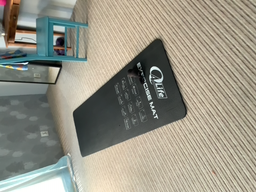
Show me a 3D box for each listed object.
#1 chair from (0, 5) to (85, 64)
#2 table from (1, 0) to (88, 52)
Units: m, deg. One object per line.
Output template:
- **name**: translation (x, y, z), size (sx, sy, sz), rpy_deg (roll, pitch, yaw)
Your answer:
- **chair**: translation (-0.980, -0.620, 2.290), size (0.450, 0.900, 0.490), rpy_deg (17, 107, 50)
- **table**: translation (-0.930, -0.920, 2.340), size (0.850, 0.730, 0.290), rpy_deg (-52, 55, 41)
